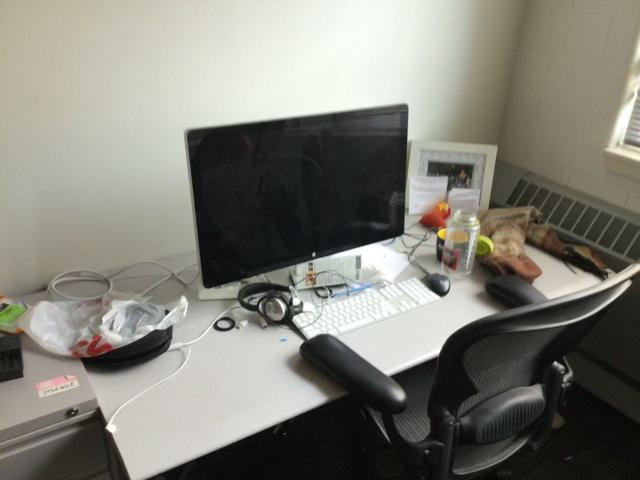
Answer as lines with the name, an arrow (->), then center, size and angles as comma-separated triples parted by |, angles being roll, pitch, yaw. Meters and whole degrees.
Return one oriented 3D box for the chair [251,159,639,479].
chair -> 0.290, 0.390, 1.470 | 0.670, 0.950, 0.690 | -14, 31, -32
